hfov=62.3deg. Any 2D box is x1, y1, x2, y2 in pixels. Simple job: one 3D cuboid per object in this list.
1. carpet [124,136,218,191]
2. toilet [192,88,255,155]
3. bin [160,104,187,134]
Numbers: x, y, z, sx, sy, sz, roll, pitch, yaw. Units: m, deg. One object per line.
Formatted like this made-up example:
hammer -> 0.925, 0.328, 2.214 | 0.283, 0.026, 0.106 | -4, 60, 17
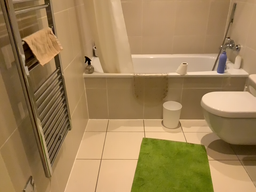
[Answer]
carpet -> 0.340, 0.630, 1.680 | 0.670, 0.030, 0.860 | 4, 27, 10
toilet -> 0.920, 0.210, 1.860 | 0.570, 0.420, 0.400 | 1, 27, 3
bin -> 0.480, 0.240, 2.270 | 0.250, 0.260, 0.170 | 2, 27, 4
